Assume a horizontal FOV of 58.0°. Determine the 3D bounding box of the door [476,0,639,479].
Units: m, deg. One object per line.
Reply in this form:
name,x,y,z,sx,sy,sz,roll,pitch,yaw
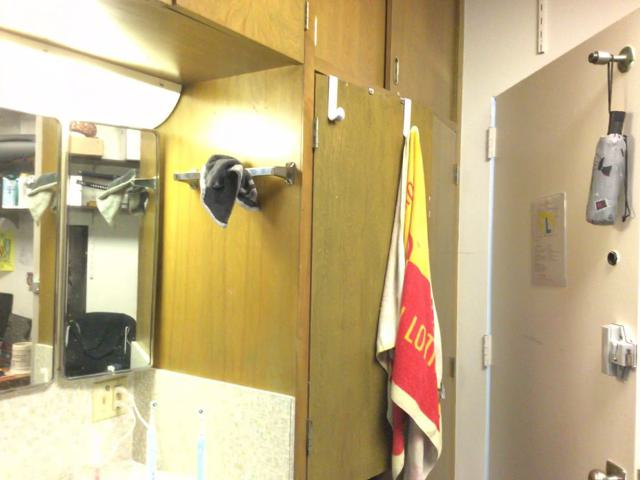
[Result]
door,0.720,0.420,1.780,0.140,2.200,0.930,0,1,-5
